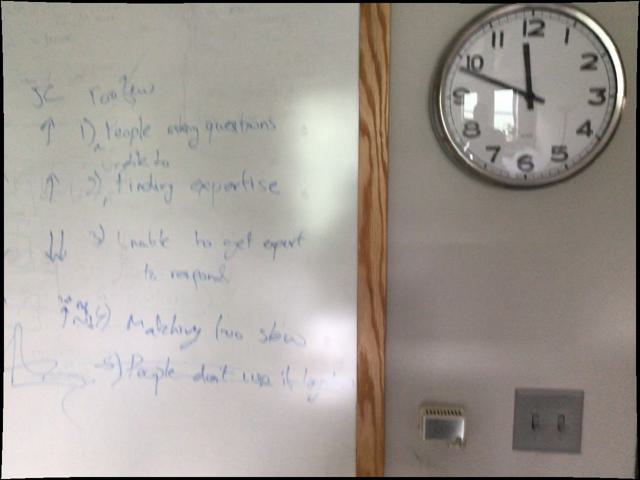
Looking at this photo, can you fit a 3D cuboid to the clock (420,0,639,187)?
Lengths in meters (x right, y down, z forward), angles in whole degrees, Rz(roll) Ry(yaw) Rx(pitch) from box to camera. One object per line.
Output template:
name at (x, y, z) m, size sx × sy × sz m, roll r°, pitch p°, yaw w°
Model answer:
clock at (0.339, -0.251, 0.960) m, size 0.329 × 0.321 × 0.060 m, roll 0°, pitch 10°, yaw 4°
